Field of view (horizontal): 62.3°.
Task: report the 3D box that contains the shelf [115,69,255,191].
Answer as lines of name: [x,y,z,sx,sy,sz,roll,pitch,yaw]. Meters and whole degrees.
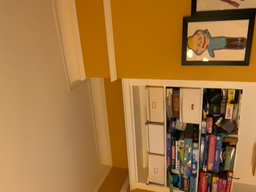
shelf: [0.840,0.420,2.100,0.340,1.830,1.290,-50,-40,-62]
